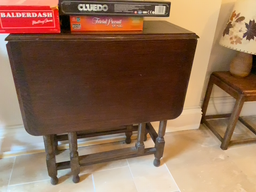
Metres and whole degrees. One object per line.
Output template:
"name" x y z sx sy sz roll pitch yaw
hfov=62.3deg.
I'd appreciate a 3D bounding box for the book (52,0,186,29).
"book" -0.050 -0.380 0.850 0.470 0.160 0.270 -5 30 -15
